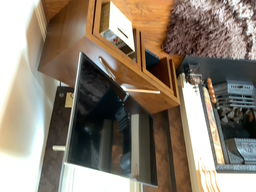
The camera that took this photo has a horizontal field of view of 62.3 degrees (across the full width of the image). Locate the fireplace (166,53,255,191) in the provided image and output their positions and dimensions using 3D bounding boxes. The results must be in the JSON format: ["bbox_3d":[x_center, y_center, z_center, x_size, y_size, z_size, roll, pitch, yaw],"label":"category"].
[{"bbox_3d":[1.110,0.320,1.870,1.320,1.190,0.580,3,151,-6],"label":"fireplace"}]
